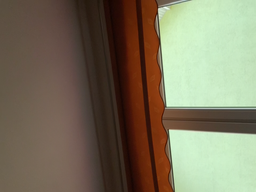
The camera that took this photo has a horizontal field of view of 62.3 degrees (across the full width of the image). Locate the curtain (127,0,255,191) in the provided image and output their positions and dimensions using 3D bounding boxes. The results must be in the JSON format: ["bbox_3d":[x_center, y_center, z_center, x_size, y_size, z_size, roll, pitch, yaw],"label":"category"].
[{"bbox_3d":[0.930,0.210,1.420,0.570,1.580,1.800,-23,-72,-59],"label":"curtain"}]
